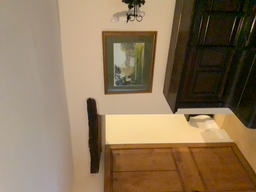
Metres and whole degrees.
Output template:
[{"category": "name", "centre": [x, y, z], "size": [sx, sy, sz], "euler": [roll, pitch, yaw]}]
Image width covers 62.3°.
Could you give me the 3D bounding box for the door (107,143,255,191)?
[{"category": "door", "centre": [0.650, 0.840, 2.510], "size": [0.730, 1.790, 0.030], "euler": [-99, 11, -59]}]
